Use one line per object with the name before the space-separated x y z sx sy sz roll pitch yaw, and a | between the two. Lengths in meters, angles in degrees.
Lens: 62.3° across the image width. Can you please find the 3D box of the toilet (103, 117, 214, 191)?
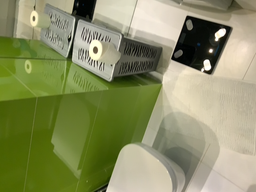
toilet | 0.170 0.490 1.300 0.370 0.460 0.540 30 114 32

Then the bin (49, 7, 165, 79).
bin | -0.130 -0.340 1.390 0.490 0.520 0.250 33 115 32
